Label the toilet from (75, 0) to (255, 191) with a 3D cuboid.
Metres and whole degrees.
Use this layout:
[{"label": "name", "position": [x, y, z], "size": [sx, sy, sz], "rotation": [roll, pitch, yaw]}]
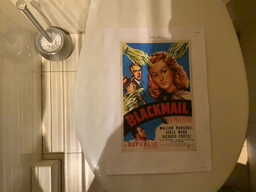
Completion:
[{"label": "toilet", "position": [0.090, 0.000, 0.630], "size": [0.390, 0.440, 0.520], "rotation": [1, 86, -3]}]
